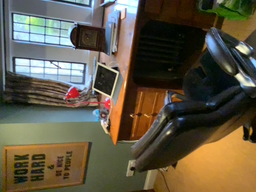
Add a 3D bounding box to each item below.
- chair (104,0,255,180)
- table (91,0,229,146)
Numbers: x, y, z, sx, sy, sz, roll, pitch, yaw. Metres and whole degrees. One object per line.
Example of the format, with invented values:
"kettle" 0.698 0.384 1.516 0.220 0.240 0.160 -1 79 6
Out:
"chair" 0.480 -0.030 1.290 0.710 1.000 0.720 118 145 -47
"table" 0.210 -0.490 2.200 0.940 0.830 1.680 -133 48 -59
